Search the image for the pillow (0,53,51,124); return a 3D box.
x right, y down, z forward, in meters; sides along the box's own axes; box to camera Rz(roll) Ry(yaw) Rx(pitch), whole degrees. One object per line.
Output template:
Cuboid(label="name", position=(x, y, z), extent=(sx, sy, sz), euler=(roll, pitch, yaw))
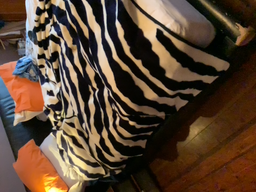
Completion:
Cuboid(label="pillow", position=(-1.160, -0.100, 2.340), extent=(0.730, 0.320, 0.260), euler=(56, 140, 21))

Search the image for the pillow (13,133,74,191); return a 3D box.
Cuboid(label="pillow", position=(-0.860, 0.770, 2.100), extent=(0.620, 0.330, 0.390), euler=(56, 140, 21))
